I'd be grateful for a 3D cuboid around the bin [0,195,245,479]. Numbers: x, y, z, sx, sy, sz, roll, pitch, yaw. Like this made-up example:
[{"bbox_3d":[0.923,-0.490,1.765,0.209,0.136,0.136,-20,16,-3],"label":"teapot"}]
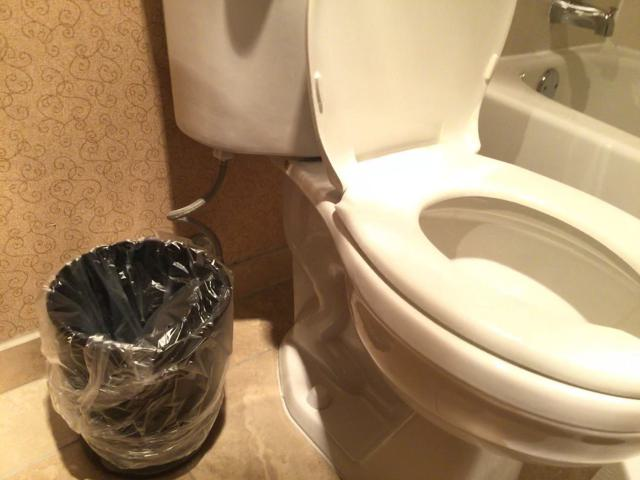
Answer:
[{"bbox_3d":[-0.280,0.140,0.770,0.240,0.260,0.260,-20,43,-36],"label":"bin"}]
